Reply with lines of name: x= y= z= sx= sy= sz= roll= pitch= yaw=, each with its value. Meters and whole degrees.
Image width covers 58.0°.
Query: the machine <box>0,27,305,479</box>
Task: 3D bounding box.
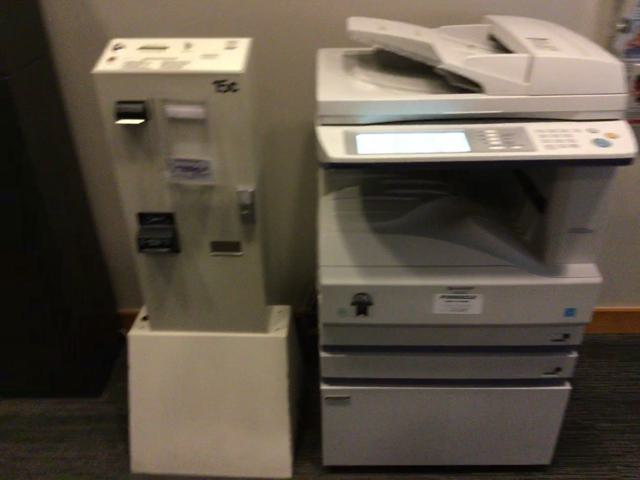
machine: x=-0.310 y=0.080 z=1.420 sx=0.470 sy=1.070 sz=0.350 roll=-2 pitch=29 yaw=2

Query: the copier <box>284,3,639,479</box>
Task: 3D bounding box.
copier: x=0.290 y=0.040 z=1.460 sx=0.640 sy=1.090 sz=0.610 roll=-2 pitch=29 yaw=2

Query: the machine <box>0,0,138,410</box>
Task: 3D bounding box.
machine: x=-0.840 y=-0.190 z=1.520 sx=0.350 sy=1.430 sz=0.300 roll=-2 pitch=29 yaw=2
